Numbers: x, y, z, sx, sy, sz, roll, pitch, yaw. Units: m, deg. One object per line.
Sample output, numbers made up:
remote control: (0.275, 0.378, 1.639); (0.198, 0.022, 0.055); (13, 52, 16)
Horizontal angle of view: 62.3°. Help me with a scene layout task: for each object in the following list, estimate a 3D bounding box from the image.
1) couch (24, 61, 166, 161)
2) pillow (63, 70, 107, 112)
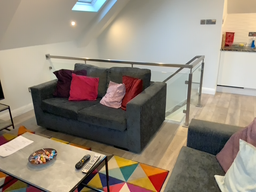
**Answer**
couch: (-0.430, 0.060, 3.000); (1.650, 0.840, 0.980); (10, 23, 28)
pillow: (-0.630, -0.080, 3.110); (0.420, 0.430, 0.220); (-36, 0, 11)
